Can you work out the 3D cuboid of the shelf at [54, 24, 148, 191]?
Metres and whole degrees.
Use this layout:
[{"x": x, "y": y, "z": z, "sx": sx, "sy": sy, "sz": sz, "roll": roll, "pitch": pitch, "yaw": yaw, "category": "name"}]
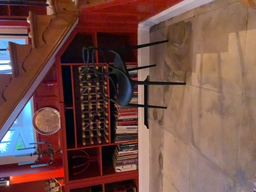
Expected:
[{"x": -0.340, "y": 1.590, "z": 3.100, "sx": 0.620, "sy": 1.080, "sz": 4.940, "roll": -152, "pitch": 61, "yaw": -72, "category": "shelf"}]
